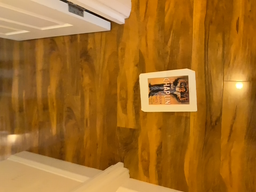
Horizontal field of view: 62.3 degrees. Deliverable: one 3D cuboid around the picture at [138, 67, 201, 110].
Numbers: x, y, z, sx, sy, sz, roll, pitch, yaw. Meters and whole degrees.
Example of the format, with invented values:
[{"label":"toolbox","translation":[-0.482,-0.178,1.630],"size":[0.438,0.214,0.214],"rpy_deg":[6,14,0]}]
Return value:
[{"label":"picture","translation":[0.200,-0.030,1.070],"size":[0.310,0.010,0.200],"rpy_deg":[-3,92,28]}]
